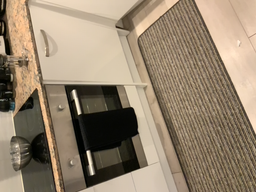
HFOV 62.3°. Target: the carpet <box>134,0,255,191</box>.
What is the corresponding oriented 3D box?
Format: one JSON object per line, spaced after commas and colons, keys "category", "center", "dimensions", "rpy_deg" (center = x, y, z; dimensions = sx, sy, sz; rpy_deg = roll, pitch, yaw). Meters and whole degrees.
{"category": "carpet", "center": [0.440, 0.020, 1.470], "dimensions": [0.600, 0.020, 1.440], "rpy_deg": [-28, 71, 43]}
